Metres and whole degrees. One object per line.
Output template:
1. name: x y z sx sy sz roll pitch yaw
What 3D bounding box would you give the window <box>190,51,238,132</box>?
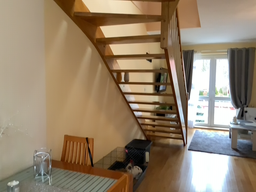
1. window: 2.640 -0.140 6.610 1.260 2.410 0.230 2 5 18

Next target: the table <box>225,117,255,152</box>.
1. table: 2.700 0.870 5.030 0.640 0.540 1.070 3 5 22

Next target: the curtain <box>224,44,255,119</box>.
1. curtain: 3.170 -0.400 6.040 0.670 2.040 0.270 2 5 16
